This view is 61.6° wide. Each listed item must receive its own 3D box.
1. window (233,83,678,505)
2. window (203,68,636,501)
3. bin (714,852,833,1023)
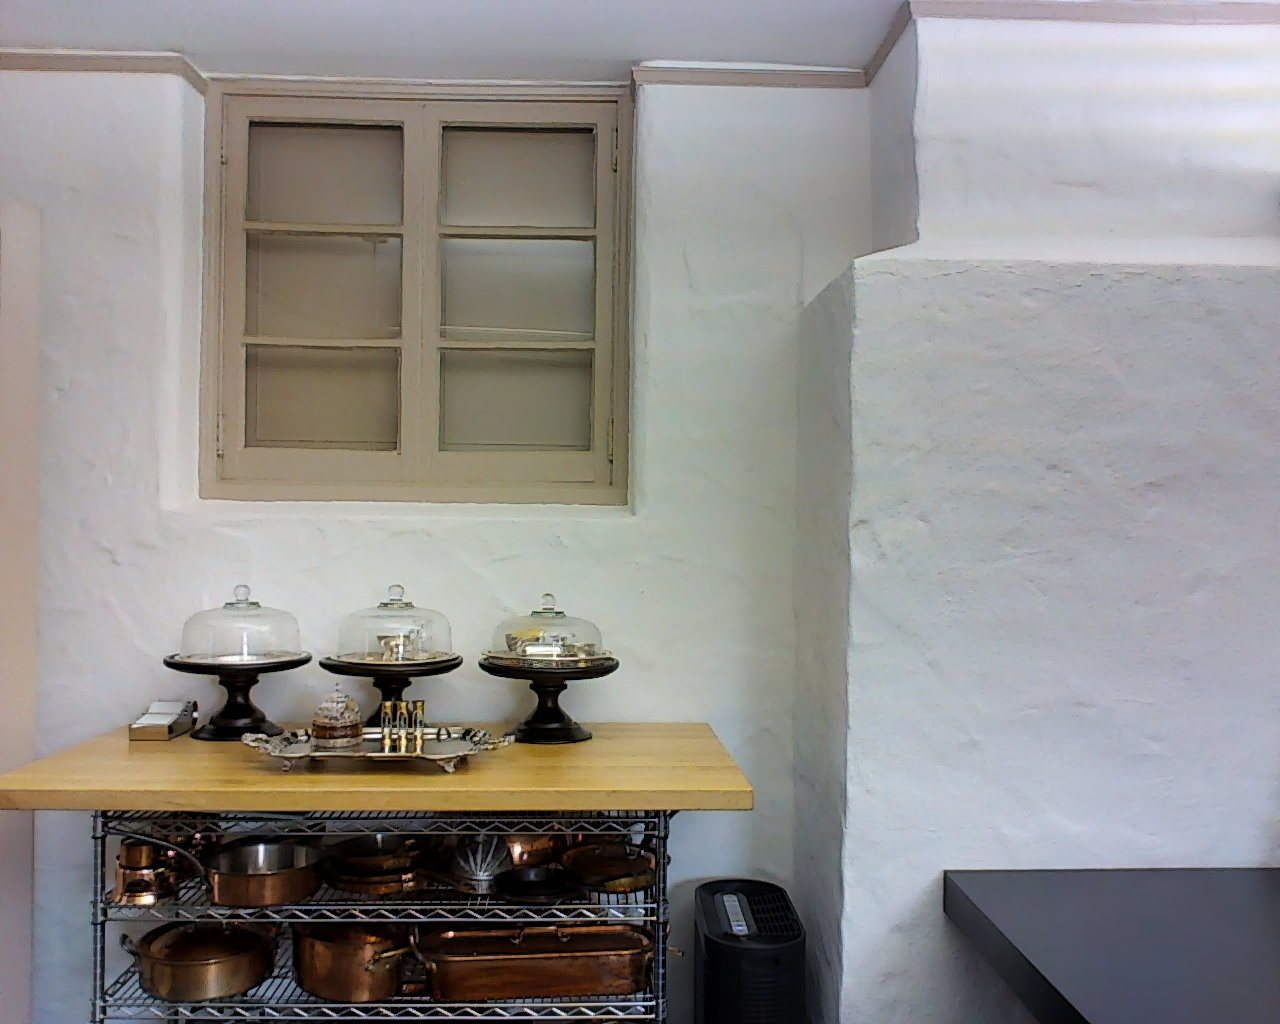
[{"bbox_3d":[-0.550,-0.650,3.290,1.310,1.240,0.160,1,0,-2],"label":"window"},{"bbox_3d":[-0.630,-0.650,3.130,1.220,1.220,0.110,1,0,-2],"label":"window"},{"bbox_3d":[0.310,1.210,2.620,0.210,0.590,0.540,1,0,-1],"label":"bin"}]
